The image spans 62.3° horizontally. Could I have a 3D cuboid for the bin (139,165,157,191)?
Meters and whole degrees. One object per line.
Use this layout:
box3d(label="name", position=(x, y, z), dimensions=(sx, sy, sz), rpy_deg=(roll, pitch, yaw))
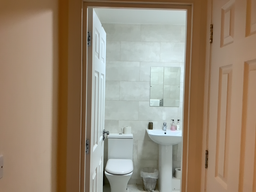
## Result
box3d(label="bin", position=(0.300, 1.220, 3.140), dimensions=(0.250, 0.280, 0.250), rpy_deg=(1, 2, 6))

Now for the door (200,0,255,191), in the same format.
box3d(label="door", position=(0.470, 0.400, 0.980), dimensions=(0.020, 2.000, 0.780), rpy_deg=(1, 2, 2))

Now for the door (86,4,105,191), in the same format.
box3d(label="door", position=(-0.270, 0.370, 1.820), dimensions=(0.020, 2.000, 0.720), rpy_deg=(1, 2, 1))
